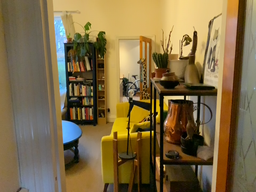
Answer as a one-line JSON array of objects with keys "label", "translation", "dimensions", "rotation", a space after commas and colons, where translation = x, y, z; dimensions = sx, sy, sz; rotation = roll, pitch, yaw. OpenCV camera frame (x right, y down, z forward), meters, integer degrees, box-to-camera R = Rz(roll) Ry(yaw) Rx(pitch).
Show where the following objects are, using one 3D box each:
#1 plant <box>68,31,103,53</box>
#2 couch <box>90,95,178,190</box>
[{"label": "plant", "translation": [-0.900, -1.160, 4.630], "dimensions": [0.620, 0.410, 0.680], "rotation": [0, 11, 0]}, {"label": "couch", "translation": [0.070, 0.560, 3.460], "dimensions": [1.010, 0.790, 1.970], "rotation": [0, 11, 0]}]
